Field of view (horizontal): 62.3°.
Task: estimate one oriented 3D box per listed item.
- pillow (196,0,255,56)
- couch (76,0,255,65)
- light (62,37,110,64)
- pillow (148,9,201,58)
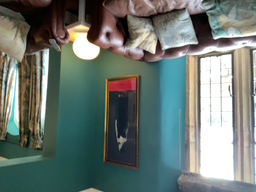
[{"bbox_3d":[0.910,-0.650,1.850,0.160,0.420,0.420,11,117,-52],"label":"pillow"},{"bbox_3d":[0.710,-0.860,1.840,0.960,2.370,0.750,7,83,-52],"label":"couch"},{"bbox_3d":[-0.550,-0.580,2.790,0.420,0.440,0.190,7,83,-50],"label":"light"},{"bbox_3d":[0.460,-0.640,2.160,0.100,0.410,0.350,11,114,-51],"label":"pillow"}]
